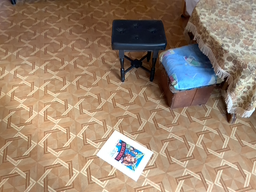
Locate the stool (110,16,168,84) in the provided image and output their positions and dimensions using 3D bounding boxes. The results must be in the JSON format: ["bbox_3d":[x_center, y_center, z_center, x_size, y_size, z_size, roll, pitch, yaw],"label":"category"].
[{"bbox_3d":[0.070,-0.350,1.660,0.380,0.410,0.310,0,51,-1],"label":"stool"}]
